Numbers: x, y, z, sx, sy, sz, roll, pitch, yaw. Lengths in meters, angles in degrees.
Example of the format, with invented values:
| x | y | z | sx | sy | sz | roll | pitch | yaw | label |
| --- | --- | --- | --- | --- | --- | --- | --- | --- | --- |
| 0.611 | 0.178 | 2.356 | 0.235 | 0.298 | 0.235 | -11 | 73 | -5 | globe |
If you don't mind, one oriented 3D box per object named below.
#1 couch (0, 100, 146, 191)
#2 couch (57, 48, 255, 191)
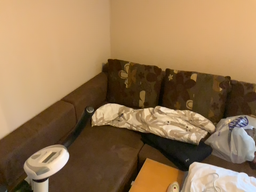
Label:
| x | y | z | sx | sy | sz | roll | pitch | yaw | label |
| --- | --- | --- | --- | --- | --- | --- | --- | --- | --- |
| -0.350 | 0.520 | 1.460 | 0.730 | 0.630 | 0.610 | 14 | 32 | 22 | couch |
| 0.570 | 0.260 | 1.780 | 2.040 | 0.810 | 0.910 | 14 | 32 | 21 | couch |
